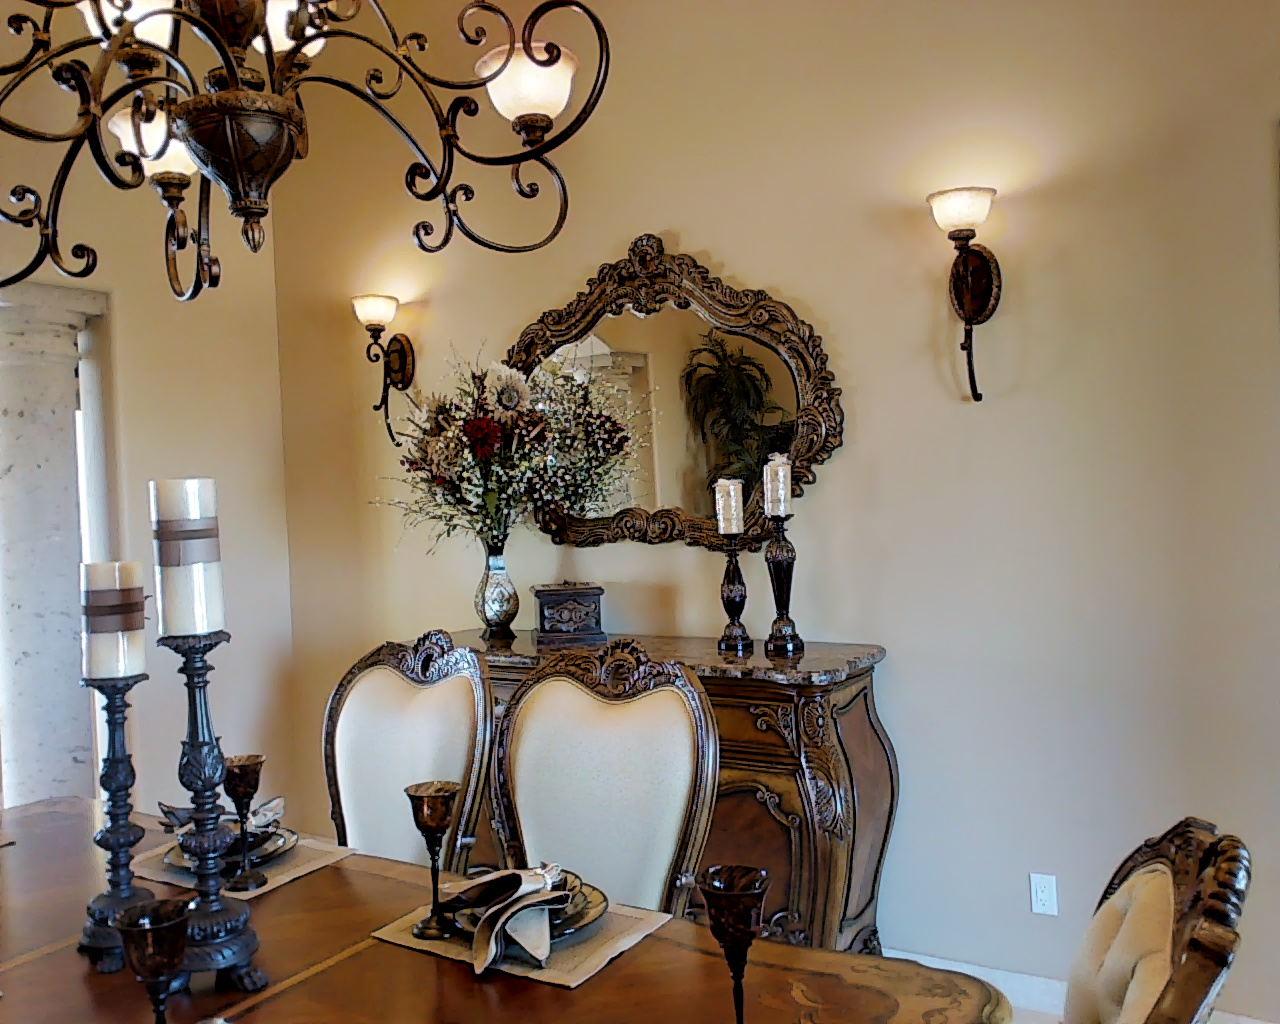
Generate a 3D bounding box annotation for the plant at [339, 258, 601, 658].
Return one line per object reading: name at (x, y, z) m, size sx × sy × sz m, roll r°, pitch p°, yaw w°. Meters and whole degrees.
plant at (-0.590, -0.170, 3.780) m, size 0.610 × 1.260 × 0.600 m, roll -2°, pitch 1°, yaw 32°

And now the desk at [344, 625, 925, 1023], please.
desk at (-0.080, 0.950, 3.510) m, size 1.830 × 1.040 × 0.600 m, roll -2°, pitch 1°, yaw 32°

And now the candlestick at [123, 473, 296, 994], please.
candlestick at (-0.720, 0.350, 1.790) m, size 0.170 × 0.820 × 0.160 m, roll -2°, pitch 1°, yaw 32°
